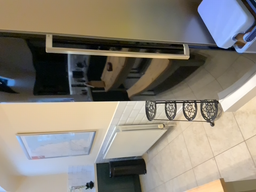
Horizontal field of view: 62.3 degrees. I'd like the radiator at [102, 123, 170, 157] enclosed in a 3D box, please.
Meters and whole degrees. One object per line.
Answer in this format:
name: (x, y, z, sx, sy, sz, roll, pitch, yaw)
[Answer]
radiator: (0.060, 0.700, 3.240, 1.120, 0.750, 0.110, 116, 150, -56)
